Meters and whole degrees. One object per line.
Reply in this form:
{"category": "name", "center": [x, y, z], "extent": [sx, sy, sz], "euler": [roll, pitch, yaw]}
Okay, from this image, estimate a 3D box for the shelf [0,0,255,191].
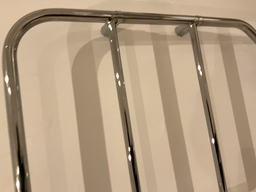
{"category": "shelf", "center": [0.240, 0.080, 0.620], "extent": [0.020, 1.070, 0.670], "euler": [160, 103, -66]}
